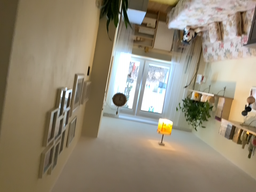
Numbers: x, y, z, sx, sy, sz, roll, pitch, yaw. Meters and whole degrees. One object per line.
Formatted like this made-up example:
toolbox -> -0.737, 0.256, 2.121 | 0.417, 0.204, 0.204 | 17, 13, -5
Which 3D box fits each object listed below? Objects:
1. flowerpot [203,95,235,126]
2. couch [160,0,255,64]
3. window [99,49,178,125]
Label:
flowerpot -> 1.540, 0.240, 3.640 | 0.260, 0.420, 0.460 | 11, -175, -3
couch -> 1.360, -1.140, 3.470 | 1.020, 0.950, 2.060 | 10, -175, -7
window -> 0.220, -0.190, 4.900 | 1.530, 1.470, 0.280 | 10, -175, -6
